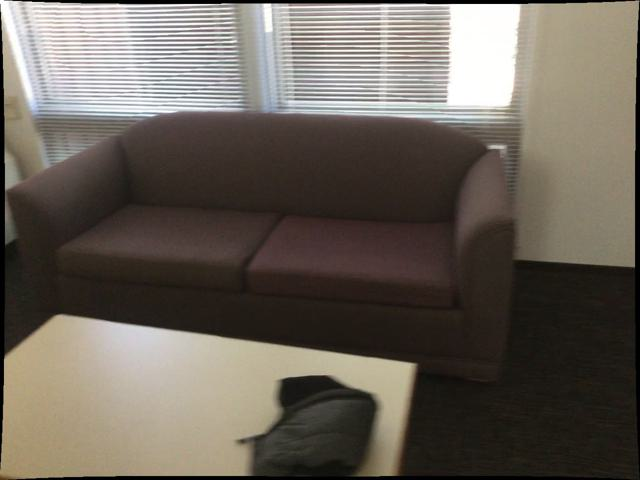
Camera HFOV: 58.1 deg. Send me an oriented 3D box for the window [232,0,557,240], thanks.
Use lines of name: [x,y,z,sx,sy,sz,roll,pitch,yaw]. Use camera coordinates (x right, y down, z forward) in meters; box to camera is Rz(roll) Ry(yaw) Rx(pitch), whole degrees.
window: [0.300,-1.032,2.450,1.268,1.993,0.420,4,26,10]

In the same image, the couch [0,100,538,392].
couch: [-0.190,-0.080,2.390,1.837,0.761,0.940,4,26,10]

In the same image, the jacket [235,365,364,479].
jacket: [-0.030,0.391,1.170,0.210,0.130,0.240,4,26,10]

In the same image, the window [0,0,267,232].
window: [-0.889,-1.032,2.620,1.158,1.983,0.280,4,26,10]
